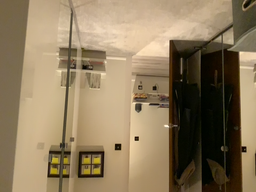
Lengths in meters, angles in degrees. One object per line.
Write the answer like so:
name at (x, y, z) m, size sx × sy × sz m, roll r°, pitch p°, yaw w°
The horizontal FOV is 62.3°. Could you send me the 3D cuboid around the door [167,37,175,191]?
door at (0.580, 0.350, 2.810) m, size 0.060 × 2.060 × 0.720 m, roll 0°, pitch 174°, yaw 15°
